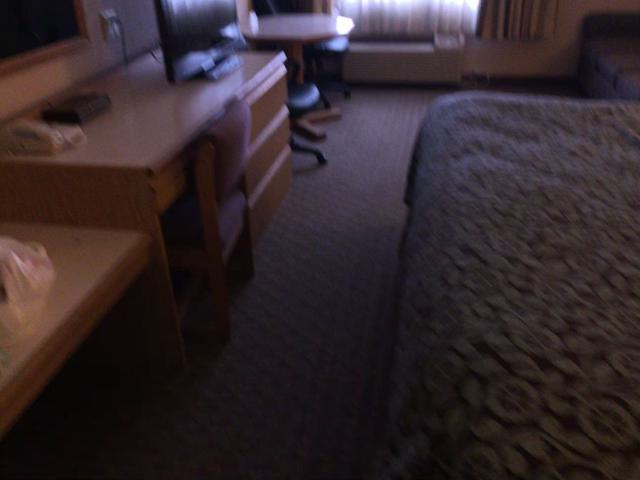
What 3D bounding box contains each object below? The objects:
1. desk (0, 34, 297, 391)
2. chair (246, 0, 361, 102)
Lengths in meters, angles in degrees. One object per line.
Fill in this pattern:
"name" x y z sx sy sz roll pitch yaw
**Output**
"desk" -0.610 -0.270 2.420 0.640 0.810 1.600 2 31 10
"chair" -0.100 -1.680 4.460 0.740 1.050 0.630 2 31 10
